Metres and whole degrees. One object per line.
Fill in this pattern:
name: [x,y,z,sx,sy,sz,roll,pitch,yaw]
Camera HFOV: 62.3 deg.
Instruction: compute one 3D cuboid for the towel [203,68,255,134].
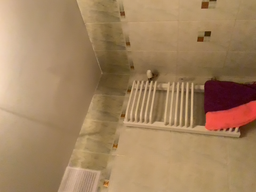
towel: [0.720,0.020,1.450,0.120,0.380,0.450,76,-158,-51]
